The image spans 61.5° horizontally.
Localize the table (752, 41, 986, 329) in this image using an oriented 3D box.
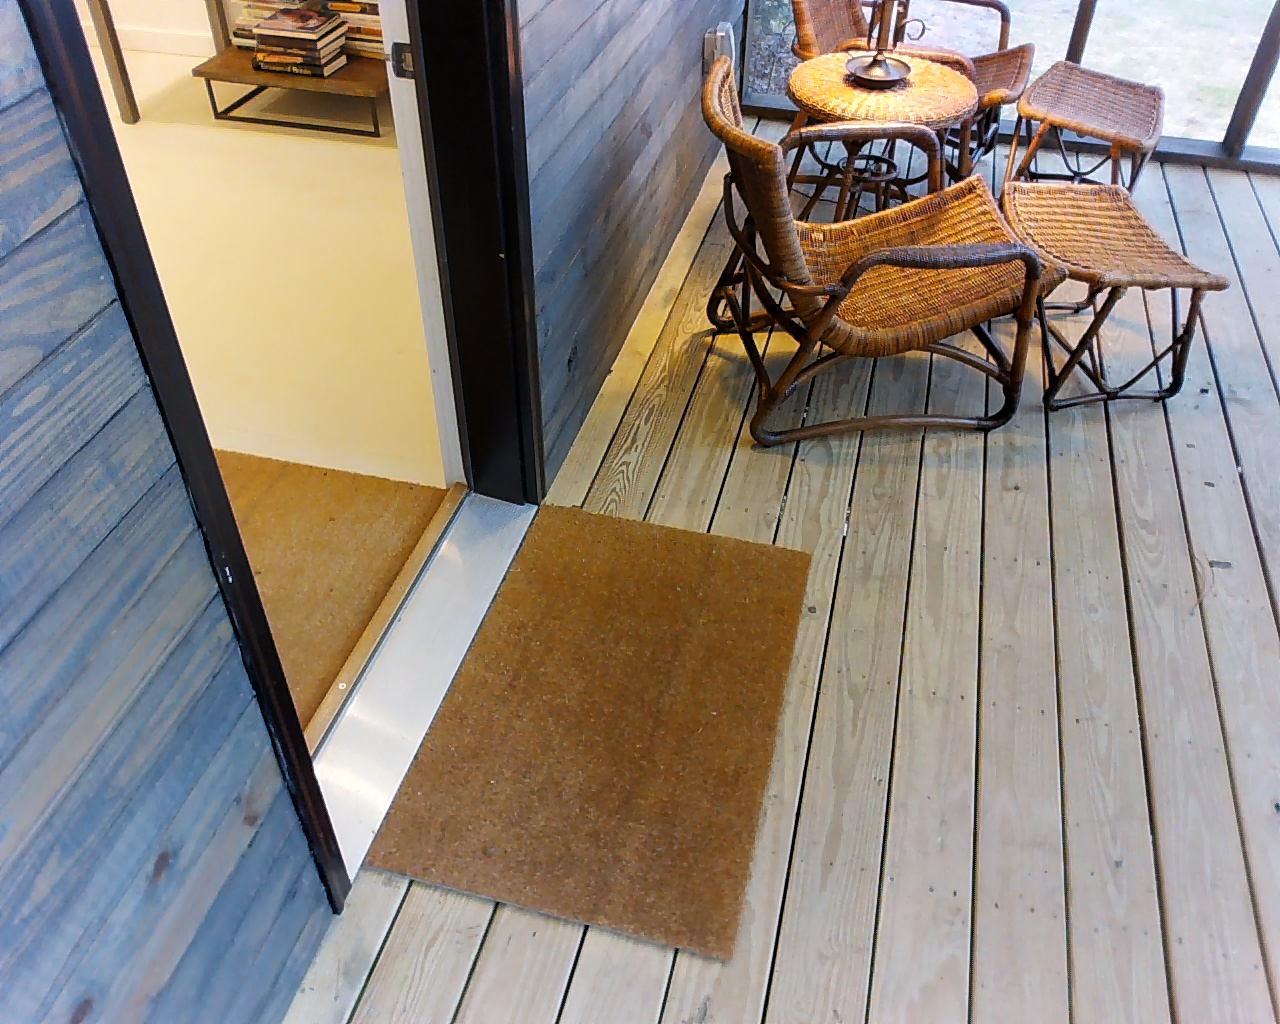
[{"bbox_3d":[0.670,-0.970,3.130,0.530,0.510,0.700,10,42,11],"label":"table"}]
